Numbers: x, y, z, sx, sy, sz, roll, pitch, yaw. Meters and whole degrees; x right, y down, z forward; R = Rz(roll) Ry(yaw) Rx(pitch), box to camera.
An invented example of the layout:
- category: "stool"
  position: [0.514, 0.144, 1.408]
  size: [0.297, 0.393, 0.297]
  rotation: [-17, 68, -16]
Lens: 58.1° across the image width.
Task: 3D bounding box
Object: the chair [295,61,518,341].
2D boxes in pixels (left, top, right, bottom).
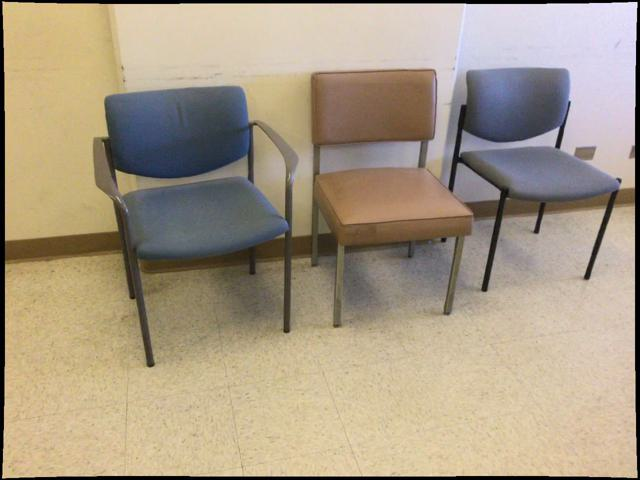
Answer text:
- category: "chair"
  position: [0.249, -0.170, 2.140]
  size: [0.559, 0.802, 0.600]
  rotation: [-7, 32, -13]

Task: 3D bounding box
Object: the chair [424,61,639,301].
- category: "chair"
  position: [0.818, -0.271, 2.420]
  size: [0.479, 0.771, 0.630]
  rotation: [-6, 32, -11]

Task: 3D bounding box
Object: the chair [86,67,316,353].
- category: "chair"
  position: [-0.429, -0.160, 2.030]
  size: [0.619, 0.661, 0.740]
  rotation: [-10, 33, -17]
